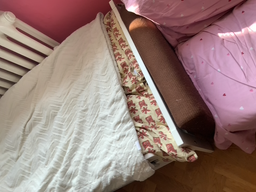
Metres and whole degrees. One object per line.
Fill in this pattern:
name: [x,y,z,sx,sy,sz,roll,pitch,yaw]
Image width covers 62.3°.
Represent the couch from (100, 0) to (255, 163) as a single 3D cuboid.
couch: [0.410,-0.280,0.850,0.690,0.650,0.840,-34,59,20]
